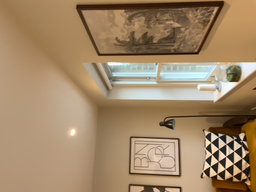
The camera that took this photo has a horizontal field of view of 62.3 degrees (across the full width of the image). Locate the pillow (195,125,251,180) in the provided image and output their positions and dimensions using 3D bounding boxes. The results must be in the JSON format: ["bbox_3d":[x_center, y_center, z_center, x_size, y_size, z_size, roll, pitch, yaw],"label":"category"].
[{"bbox_3d":[1.200,0.720,2.730,0.290,0.570,0.620,24,-116,-49],"label":"pillow"}]

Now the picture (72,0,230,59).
[{"bbox_3d":[0.120,-0.370,1.300,0.600,0.750,0.020,75,-164,-73],"label":"picture"}]
